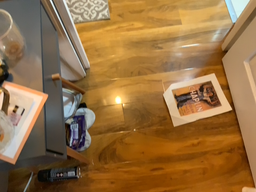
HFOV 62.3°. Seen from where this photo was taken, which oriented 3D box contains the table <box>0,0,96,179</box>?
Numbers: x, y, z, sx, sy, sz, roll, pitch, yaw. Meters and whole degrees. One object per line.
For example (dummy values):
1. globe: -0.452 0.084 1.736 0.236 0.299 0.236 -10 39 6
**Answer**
1. table: -0.340 0.030 0.750 0.310 0.590 0.450 -9 71 -3
